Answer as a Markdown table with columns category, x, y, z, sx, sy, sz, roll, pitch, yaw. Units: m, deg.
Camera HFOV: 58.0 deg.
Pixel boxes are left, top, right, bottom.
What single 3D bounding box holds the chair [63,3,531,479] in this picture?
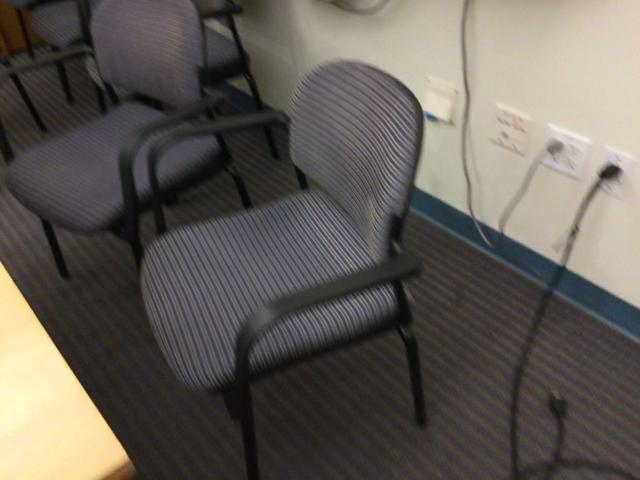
| category | x | y | z | sx | sy | sz | roll | pitch | yaw |
| --- | --- | --- | --- | --- | --- | --- | --- | --- | --- |
| chair | -0.070 | -0.030 | 1.240 | 0.630 | 0.660 | 0.570 | -21 | 46 | -23 |

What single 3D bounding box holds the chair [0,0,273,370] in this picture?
| category | x | y | z | sx | sy | sz | roll | pitch | yaw |
| --- | --- | --- | --- | --- | --- | --- | --- | --- | --- |
| chair | -0.560 | -0.220 | 1.590 | 0.570 | 0.770 | 0.620 | 24 | 46 | 24 |
